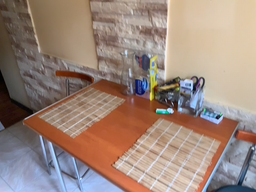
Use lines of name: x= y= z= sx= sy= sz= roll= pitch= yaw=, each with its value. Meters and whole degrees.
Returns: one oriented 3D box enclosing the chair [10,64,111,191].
chair: x=-0.490 y=0.250 z=1.700 sx=0.490 sy=0.840 sz=0.410 roll=19 pitch=36 yaw=33
